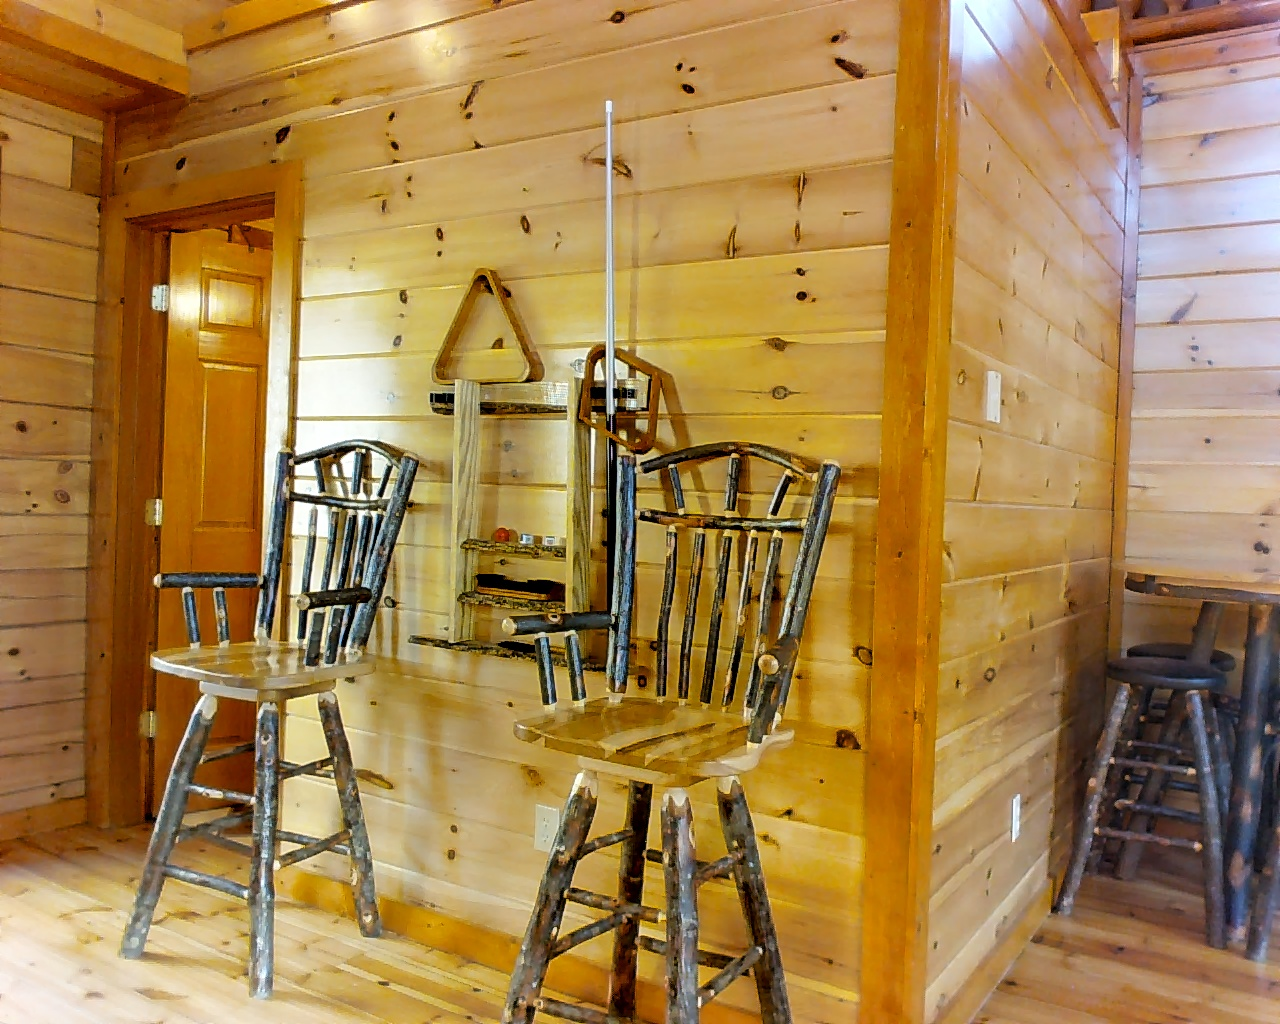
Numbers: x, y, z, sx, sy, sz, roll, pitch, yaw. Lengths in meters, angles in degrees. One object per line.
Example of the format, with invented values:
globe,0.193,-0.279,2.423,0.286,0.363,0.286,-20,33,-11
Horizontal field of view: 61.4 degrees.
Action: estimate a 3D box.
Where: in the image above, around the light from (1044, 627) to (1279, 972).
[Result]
light,1.869,0.820,3.300,0.990,0.760,1.040,3,1,30
